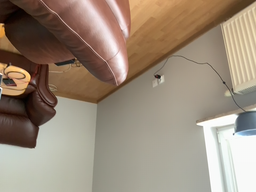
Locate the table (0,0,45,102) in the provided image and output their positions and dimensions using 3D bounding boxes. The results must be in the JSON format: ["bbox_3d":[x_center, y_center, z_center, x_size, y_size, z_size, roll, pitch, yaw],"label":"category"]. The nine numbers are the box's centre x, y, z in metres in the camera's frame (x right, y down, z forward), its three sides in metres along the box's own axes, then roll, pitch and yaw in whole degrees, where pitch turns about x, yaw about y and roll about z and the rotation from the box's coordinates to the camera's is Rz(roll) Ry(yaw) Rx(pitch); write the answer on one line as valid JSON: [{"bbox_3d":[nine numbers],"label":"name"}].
[{"bbox_3d":[-1.270,-0.440,1.580,1.050,0.660,0.560,13,155,-30],"label":"table"}]
